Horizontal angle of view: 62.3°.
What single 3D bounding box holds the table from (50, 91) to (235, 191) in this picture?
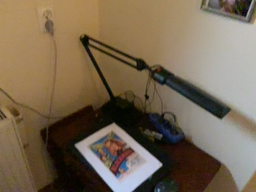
[{"bbox_3d":[0.020,0.480,1.090,0.640,0.690,0.450,32,43,32],"label":"table"}]
